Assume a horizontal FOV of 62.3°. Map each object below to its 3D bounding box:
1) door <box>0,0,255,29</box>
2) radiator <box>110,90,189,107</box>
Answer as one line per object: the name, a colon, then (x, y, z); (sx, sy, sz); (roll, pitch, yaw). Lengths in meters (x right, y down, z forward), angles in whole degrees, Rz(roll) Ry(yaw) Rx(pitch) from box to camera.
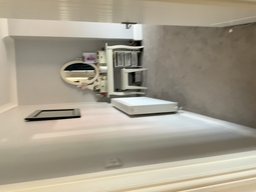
door: (0.080, -0.490, 1.230); (0.690, 2.010, 0.050); (-141, 50, -71)
radiator: (0.200, 0.010, 2.960); (1.320, 0.680, 0.120); (-169, 77, -75)
